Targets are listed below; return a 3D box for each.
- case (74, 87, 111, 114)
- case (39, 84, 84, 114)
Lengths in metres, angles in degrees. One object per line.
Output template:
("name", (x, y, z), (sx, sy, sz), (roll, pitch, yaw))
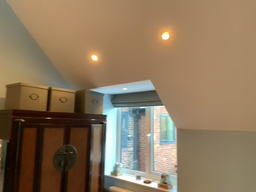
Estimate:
("case", (-0.510, 0.080, 3.060), (0.310, 0.330, 0.410), (-5, -9, 43))
("case", (-0.860, 0.060, 2.750), (0.400, 0.330, 0.400), (-5, -9, 43))
